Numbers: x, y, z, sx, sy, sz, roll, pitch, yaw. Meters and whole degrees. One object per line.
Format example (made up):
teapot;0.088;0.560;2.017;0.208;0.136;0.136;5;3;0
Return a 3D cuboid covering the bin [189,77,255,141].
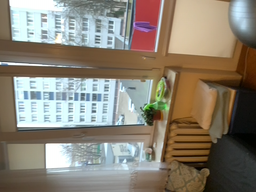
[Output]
bin;0.930;0.120;1.980;0.280;0.560;0.520;-130;44;-72
